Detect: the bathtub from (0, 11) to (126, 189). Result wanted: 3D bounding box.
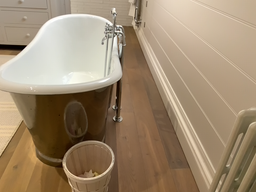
[{"bbox_3d":[-0.450,-0.160,1.750,0.770,0.690,1.570,3,32,-4],"label":"bathtub"}]
